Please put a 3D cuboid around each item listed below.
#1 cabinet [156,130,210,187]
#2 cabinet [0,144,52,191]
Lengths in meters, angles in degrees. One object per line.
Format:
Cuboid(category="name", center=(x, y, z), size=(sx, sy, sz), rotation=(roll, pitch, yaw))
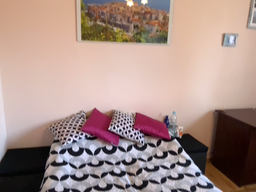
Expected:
Cuboid(category="cabinet", center=(0.620, 0.700, 2.470), size=(0.410, 0.450, 0.410), rotation=(-2, 14, -18))
Cuboid(category="cabinet", center=(-0.950, 0.760, 1.970), size=(0.430, 0.440, 0.420), rotation=(-2, 14, -18))
